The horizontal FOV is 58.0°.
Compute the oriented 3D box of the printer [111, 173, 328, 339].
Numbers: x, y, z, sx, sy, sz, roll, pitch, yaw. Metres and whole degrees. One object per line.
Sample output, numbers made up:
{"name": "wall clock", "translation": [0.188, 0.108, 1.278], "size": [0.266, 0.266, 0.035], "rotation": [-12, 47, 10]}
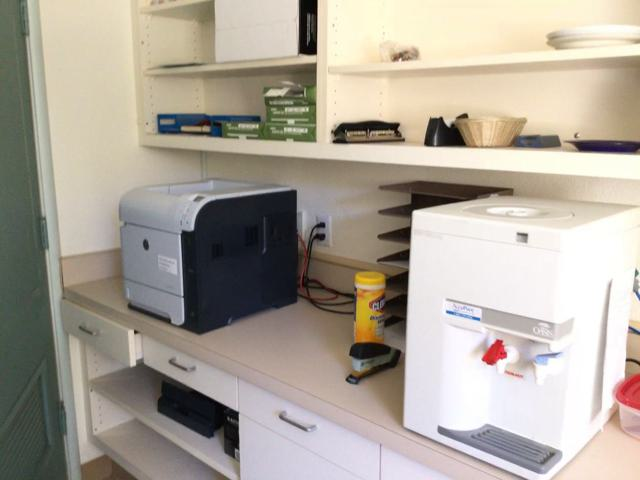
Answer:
{"name": "printer", "translation": [-0.330, 0.010, 1.950], "size": [0.440, 0.410, 0.550], "rotation": [13, 16, 42]}

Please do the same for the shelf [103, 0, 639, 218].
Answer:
{"name": "shelf", "translation": [0.070, -0.610, 1.640], "size": [1.960, 0.810, 0.460], "rotation": [13, 16, 42]}
